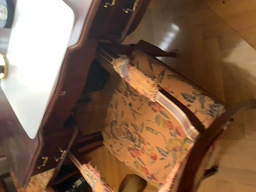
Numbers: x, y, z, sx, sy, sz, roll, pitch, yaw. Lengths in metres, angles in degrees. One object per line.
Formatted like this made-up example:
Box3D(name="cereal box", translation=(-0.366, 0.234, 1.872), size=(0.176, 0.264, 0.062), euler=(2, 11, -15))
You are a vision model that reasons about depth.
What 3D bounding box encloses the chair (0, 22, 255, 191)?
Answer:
Box3D(name="chair", translation=(0.070, 0.150, 0.880), size=(0.610, 1.000, 0.590), euler=(34, 117, 31))
